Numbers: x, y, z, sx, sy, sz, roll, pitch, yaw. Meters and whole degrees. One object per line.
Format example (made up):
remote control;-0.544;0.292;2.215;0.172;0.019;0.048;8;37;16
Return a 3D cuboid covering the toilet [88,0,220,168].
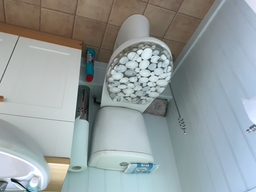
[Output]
toilet;0.040;-0.070;1.260;0.410;0.740;0.670;8;139;-17
